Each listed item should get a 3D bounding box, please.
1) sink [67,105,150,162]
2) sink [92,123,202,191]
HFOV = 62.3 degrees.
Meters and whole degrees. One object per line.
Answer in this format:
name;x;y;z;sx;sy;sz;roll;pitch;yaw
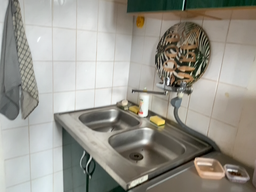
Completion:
sink;-0.140;0.220;1.440;0.420;0.160;0.380;-7;21;-37
sink;0.090;0.330;1.150;0.420;0.160;0.400;-7;21;-37
